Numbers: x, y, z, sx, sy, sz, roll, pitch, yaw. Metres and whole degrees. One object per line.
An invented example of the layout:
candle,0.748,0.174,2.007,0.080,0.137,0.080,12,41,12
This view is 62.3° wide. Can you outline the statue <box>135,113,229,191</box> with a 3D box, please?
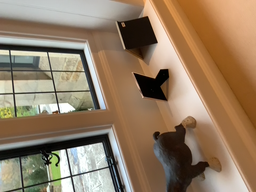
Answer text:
statue,0.280,0.370,1.150,0.190,0.280,0.500,-52,51,46
